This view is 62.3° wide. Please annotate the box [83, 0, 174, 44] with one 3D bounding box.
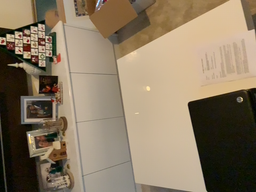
[{"bbox_3d":[-0.050,-0.880,1.750,0.660,0.350,0.640,-17,80,47],"label":"box"}]
